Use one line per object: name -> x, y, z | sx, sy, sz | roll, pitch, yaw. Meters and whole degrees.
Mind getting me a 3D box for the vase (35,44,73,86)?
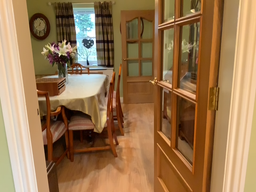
vase -> -0.960, -0.420, 2.810 | 0.360, 0.510, 0.300 | -2, 14, -4
